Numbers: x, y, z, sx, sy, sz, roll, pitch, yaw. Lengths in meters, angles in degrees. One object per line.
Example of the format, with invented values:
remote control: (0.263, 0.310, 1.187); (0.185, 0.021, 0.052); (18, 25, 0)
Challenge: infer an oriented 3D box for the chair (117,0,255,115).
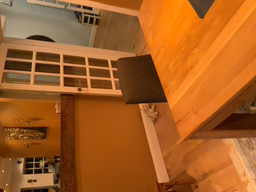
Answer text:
chair: (0.460, -0.260, 1.430); (0.470, 0.860, 0.620); (-109, 30, -42)
